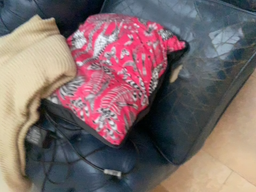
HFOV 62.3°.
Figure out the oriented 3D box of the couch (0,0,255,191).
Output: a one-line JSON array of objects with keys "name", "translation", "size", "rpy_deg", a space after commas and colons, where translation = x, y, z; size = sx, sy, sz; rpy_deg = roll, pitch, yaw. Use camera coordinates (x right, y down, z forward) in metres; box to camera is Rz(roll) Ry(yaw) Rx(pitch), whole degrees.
[{"name": "couch", "translation": [0.170, -0.620, 0.730], "size": [0.930, 0.680, 2.030], "rpy_deg": [34, 107, 26]}]
